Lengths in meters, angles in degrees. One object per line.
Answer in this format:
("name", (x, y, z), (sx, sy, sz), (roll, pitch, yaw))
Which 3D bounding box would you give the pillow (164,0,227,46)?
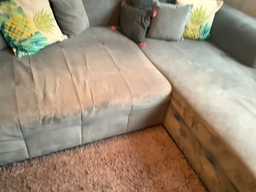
("pillow", (0.600, -0.690, 1.960), (0.430, 0.370, 0.180), (4, 50, -5))

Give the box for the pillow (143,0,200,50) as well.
("pillow", (0.360, -0.620, 1.880), (0.390, 0.360, 0.180), (2, 47, -7))

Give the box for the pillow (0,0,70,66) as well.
("pillow", (-0.690, -0.510, 1.470), (0.440, 0.440, 0.210), (-37, 74, -17))
